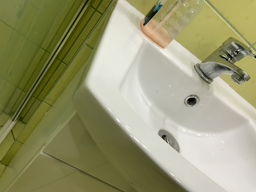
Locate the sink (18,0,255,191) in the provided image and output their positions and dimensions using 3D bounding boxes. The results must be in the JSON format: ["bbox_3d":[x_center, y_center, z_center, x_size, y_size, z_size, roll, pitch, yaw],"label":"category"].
[{"bbox_3d":[0.130,0.080,0.420,0.490,0.140,0.390,34,33,-19],"label":"sink"}]
